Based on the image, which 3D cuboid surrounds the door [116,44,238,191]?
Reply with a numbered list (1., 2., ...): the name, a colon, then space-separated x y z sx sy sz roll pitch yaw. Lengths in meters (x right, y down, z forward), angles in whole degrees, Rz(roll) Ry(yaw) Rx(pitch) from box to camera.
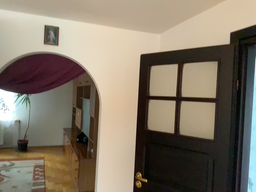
1. door: 0.310 0.620 1.620 0.820 1.950 0.150 4 1 26
